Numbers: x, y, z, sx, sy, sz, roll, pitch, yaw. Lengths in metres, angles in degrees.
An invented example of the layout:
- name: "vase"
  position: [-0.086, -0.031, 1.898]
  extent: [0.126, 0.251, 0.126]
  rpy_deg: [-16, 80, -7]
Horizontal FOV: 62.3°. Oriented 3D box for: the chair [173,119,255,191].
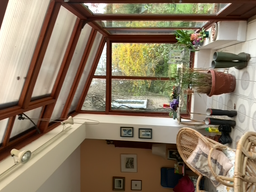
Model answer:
- name: "chair"
  position: [0.880, 0.710, 1.970]
  extent: [0.610, 0.820, 0.720]
  rpy_deg: [86, -171, -48]
